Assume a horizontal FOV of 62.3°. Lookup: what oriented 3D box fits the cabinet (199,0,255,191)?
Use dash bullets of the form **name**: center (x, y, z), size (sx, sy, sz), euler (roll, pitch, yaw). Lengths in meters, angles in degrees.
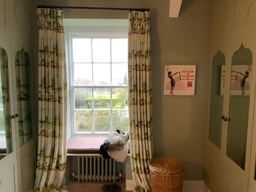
- **cabinet**: center (1.320, 0.140, 1.270), size (0.690, 2.720, 3.180), euler (0, 7, 1)
